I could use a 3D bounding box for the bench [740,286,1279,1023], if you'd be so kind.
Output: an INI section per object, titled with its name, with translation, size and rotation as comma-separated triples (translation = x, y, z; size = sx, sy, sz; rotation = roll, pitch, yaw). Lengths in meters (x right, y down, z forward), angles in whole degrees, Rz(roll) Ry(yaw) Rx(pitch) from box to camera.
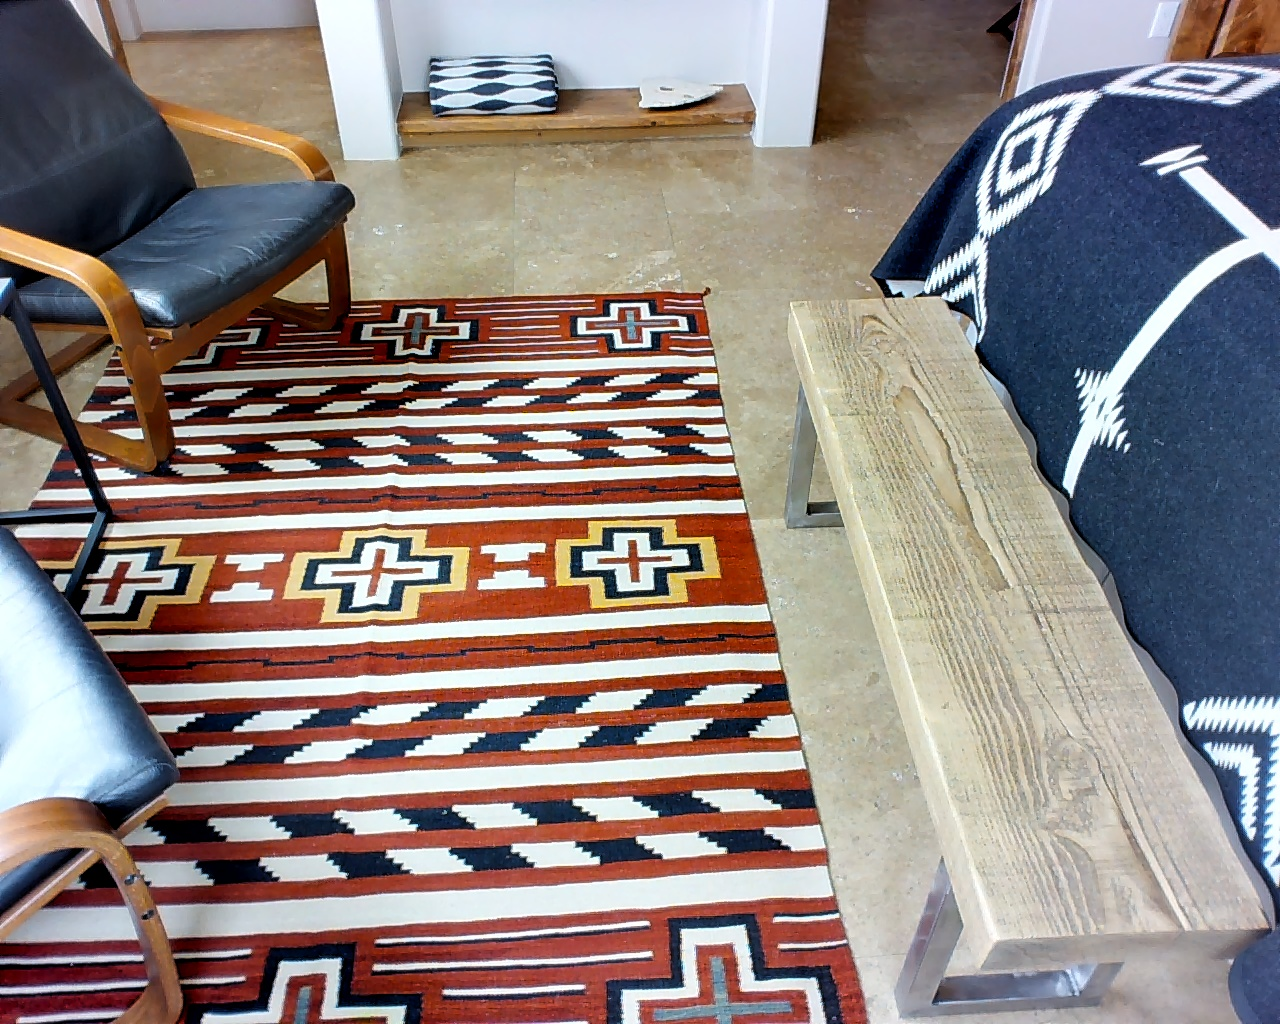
[bench]
translation = 0.450, 0.180, 1.650
size = 0.360, 0.460, 1.280
rotation = -3, 41, -4

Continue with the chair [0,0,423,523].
[chair]
translation = -1.120, -0.690, 2.260
size = 0.930, 0.950, 0.740
rotation = 18, 44, 20
